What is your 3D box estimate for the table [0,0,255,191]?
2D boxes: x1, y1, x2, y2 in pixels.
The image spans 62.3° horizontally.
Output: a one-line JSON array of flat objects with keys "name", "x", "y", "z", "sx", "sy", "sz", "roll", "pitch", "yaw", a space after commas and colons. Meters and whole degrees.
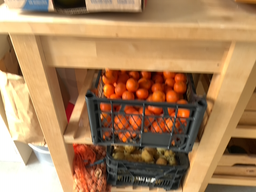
[{"name": "table", "x": 0.010, "y": 0.040, "z": 0.850, "sx": 0.620, "sy": 0.870, "sz": 0.500, "roll": 2, "pitch": 39, "yaw": 1}]
